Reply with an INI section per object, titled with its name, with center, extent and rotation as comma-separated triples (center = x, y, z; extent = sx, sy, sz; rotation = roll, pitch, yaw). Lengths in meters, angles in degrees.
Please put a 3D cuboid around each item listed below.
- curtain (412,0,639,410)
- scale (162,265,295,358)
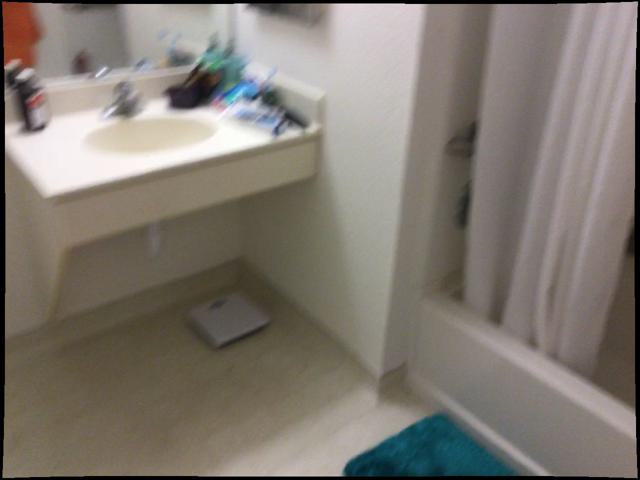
[curtain]
center = 0.629, -0.430, 1.400
extent = 0.250, 1.741, 0.550
rotation = -20, 38, -34
[scale]
center = -0.370, 0.270, 2.330
extent = 0.390, 0.050, 0.380
rotation = -20, 38, -34
